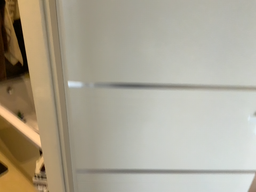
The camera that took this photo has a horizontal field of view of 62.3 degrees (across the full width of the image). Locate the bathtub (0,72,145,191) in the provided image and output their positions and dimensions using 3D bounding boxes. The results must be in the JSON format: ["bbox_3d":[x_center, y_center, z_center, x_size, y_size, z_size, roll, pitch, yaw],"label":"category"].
[{"bbox_3d":[-0.750,0.330,2.050,1.690,0.600,0.670,19,30,31],"label":"bathtub"}]

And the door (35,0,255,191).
[{"bbox_3d":[0.140,0.120,0.850,0.850,2.170,0.090,2,26,-1],"label":"door"}]
